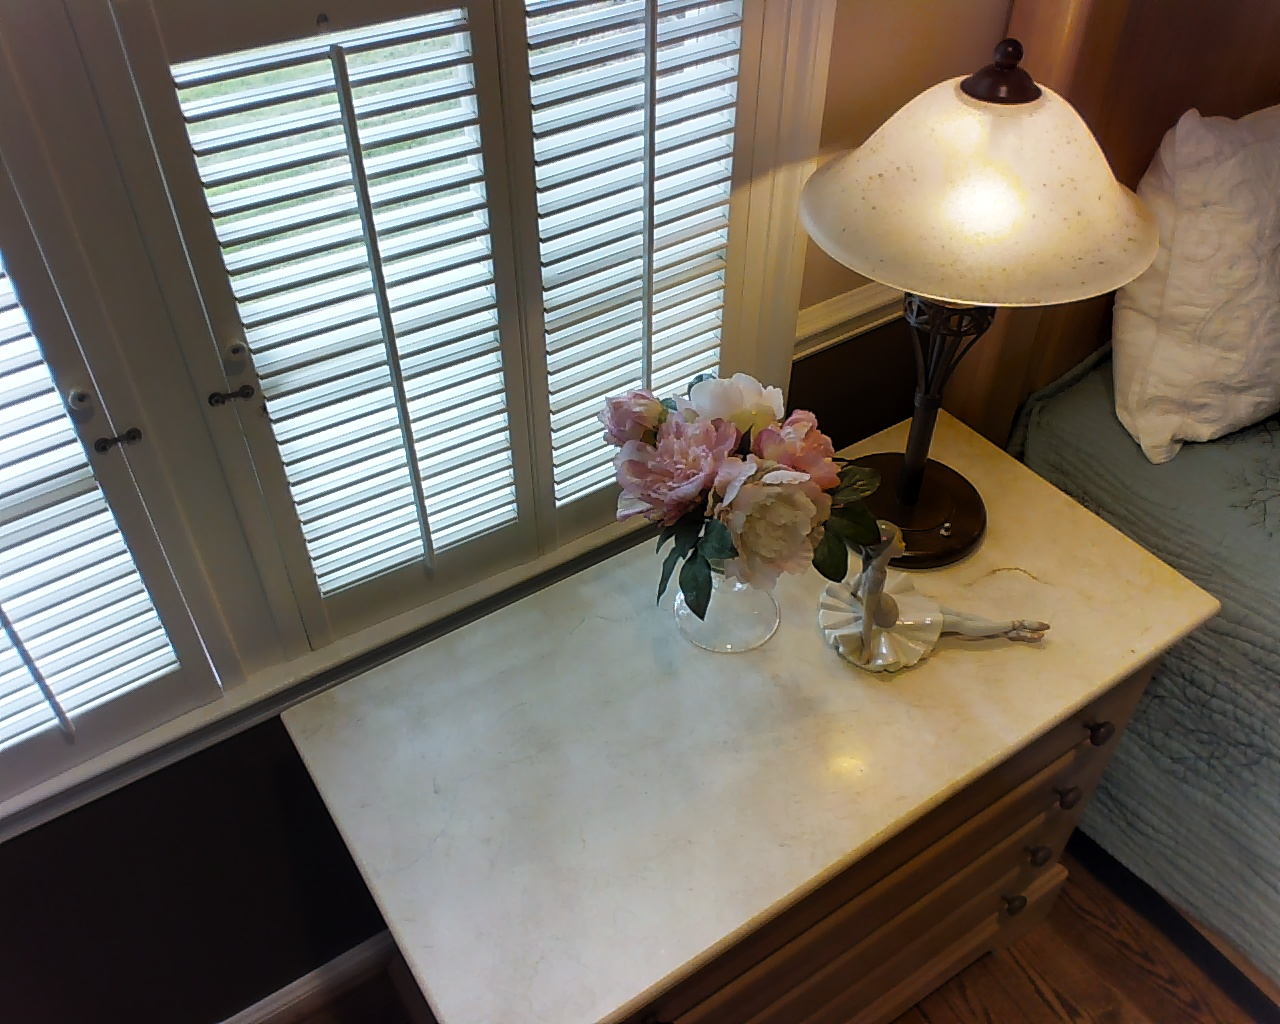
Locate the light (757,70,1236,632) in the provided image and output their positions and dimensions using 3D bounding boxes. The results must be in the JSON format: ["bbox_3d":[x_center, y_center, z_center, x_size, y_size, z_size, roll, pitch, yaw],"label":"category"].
[{"bbox_3d":[0.340,-0.170,1.150,0.290,0.450,0.280,-24,47,-23],"label":"light"}]

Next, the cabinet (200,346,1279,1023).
[{"bbox_3d":[0.130,0.390,1.410,1.040,0.760,0.540,-24,47,-23],"label":"cabinet"}]
